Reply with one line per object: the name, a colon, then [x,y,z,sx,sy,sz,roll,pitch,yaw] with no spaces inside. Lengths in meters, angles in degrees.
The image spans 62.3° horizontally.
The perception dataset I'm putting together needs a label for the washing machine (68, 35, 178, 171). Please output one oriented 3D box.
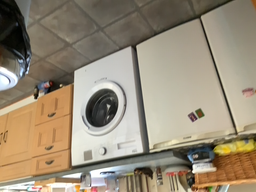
washing machine: [-0.050,0.130,1.820,0.600,0.890,0.650,-19,153,26]
